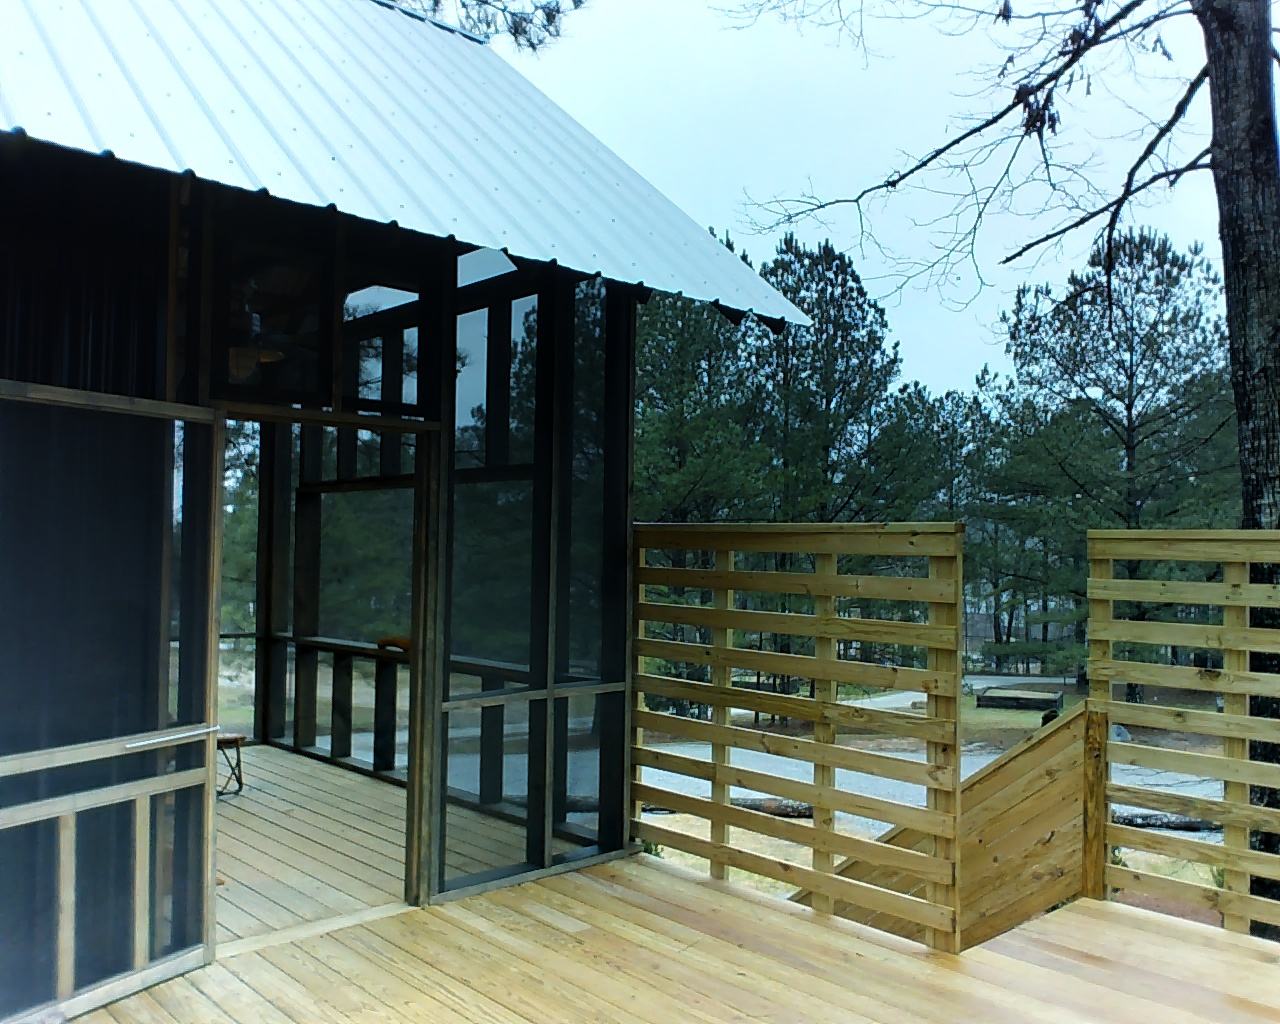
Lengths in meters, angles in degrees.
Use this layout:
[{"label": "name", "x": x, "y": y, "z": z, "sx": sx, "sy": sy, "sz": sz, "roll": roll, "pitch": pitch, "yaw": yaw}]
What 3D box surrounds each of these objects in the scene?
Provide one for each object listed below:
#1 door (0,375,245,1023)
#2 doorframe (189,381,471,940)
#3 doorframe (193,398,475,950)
[{"label": "door", "x": -1.770, "y": 0.620, "z": 3.610, "sx": 0.090, "sy": 2.030, "sz": 0.940, "roll": 0, "pitch": -2, "yaw": 29}, {"label": "doorframe", "x": -1.240, "y": 0.570, "z": 4.470, "sx": 1.120, "sy": 2.090, "sz": 0.140, "roll": 3, "pitch": -3, "yaw": -43}, {"label": "doorframe", "x": -1.230, "y": 0.620, "z": 4.480, "sx": 1.110, "sy": 2.060, "sz": 0.180, "roll": 3, "pitch": -3, "yaw": -43}]
